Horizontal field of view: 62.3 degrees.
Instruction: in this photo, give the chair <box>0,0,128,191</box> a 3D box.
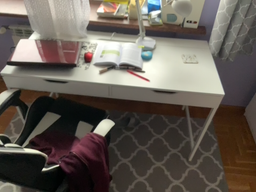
[{"bbox_3d":[-0.490,0.190,1.150,0.700,1.200,0.720,17,46,13],"label":"chair"}]
